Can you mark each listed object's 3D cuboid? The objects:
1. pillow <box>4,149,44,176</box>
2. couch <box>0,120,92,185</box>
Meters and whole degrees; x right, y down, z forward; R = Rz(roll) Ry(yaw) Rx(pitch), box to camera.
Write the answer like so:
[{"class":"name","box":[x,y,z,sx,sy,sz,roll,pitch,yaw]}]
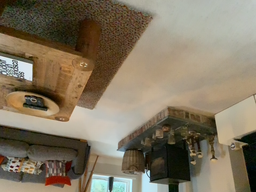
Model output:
[{"class":"pillow","box":[-1.940,1.250,3.970,0.610,0.360,0.180,15,-155,-14]},{"class":"couch","box":[-1.880,1.110,3.970,2.050,1.180,0.760,14,-121,-19]}]
